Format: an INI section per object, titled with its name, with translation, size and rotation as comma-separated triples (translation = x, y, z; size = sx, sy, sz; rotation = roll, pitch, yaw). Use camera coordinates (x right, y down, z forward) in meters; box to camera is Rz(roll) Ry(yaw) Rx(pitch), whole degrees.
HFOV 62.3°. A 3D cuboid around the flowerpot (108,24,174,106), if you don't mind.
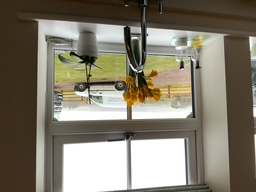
[flowerpot]
translation = 0.060, -0.140, 1.090
size = 0.300, 0.380, 0.170
rotation = 1, 176, -13
